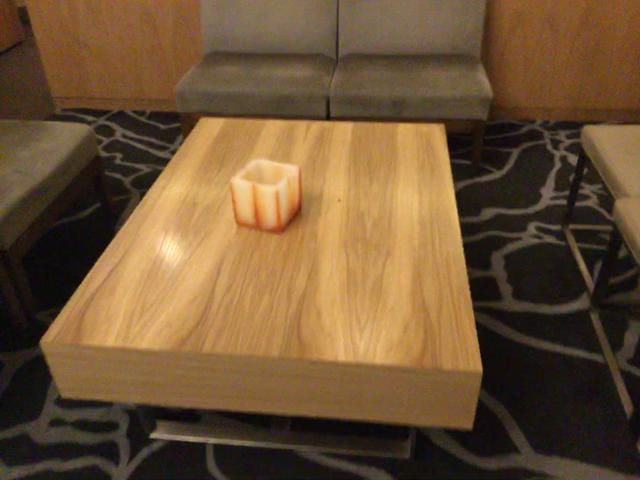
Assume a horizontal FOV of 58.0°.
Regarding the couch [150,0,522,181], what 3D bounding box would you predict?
[{"bbox_3d":[0.080,-0.850,2.750,1.470,0.830,0.690,4,35,6],"label":"couch"}]
